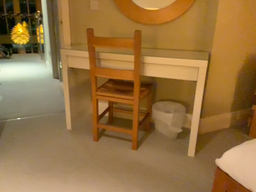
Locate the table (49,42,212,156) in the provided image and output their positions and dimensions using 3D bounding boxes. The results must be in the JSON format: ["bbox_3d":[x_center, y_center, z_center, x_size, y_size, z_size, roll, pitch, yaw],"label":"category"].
[{"bbox_3d":[0.020,-0.050,1.970,1.290,0.760,0.530,8,21,16],"label":"table"}]

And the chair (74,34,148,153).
[{"bbox_3d":[-0.120,-0.060,1.840,0.420,0.870,0.510,8,21,17],"label":"chair"}]
